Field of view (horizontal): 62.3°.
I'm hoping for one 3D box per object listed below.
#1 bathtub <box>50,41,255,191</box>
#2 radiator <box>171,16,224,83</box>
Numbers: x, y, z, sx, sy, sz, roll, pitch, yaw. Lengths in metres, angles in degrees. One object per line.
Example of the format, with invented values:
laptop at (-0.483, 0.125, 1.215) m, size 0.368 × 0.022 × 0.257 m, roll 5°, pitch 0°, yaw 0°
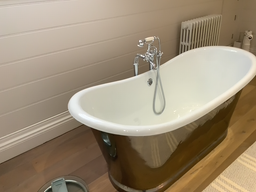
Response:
bathtub at (0.350, 0.110, 1.710) m, size 1.570 × 0.690 × 0.770 m, roll -22°, pitch 34°, yaw -33°
radiator at (0.980, -0.680, 3.000) m, size 0.790 × 0.760 × 0.220 m, roll -23°, pitch 34°, yaw -34°
